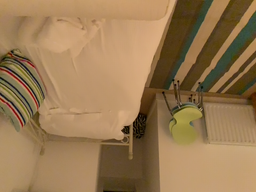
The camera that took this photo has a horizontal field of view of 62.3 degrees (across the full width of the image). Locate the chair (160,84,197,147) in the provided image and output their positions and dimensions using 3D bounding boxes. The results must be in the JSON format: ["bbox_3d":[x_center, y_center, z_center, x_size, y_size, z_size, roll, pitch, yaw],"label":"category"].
[{"bbox_3d":[0.590,0.240,2.600,0.330,0.650,0.410,2,153,1],"label":"chair"}]

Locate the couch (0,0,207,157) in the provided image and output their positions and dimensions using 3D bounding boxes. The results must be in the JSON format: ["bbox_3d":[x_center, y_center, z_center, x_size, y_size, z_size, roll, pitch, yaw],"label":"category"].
[{"bbox_3d":[-0.380,-0.190,1.640,1.070,0.820,2.290,4,153,-3],"label":"couch"}]
